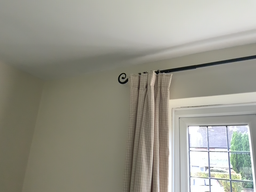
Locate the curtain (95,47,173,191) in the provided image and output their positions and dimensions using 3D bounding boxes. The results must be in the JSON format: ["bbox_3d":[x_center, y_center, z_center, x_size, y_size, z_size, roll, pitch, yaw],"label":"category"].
[{"bbox_3d":[0.010,0.750,0.920,0.320,2.020,0.190,-7,-21,29],"label":"curtain"}]
